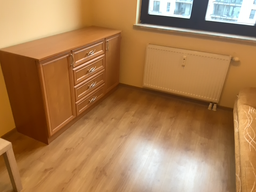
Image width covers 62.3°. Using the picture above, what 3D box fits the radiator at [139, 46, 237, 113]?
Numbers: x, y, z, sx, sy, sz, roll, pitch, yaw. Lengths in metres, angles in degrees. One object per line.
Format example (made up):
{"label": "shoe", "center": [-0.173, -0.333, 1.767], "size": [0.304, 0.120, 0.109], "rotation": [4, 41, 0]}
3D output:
{"label": "radiator", "center": [0.720, -0.230, 2.750], "size": [1.120, 0.610, 0.160], "rotation": [15, 31, 20]}
